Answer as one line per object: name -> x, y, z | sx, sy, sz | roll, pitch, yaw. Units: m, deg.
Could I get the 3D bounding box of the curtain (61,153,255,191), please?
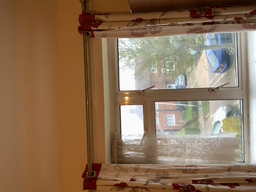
curtain -> 0.410, 0.490, 1.240 | 0.160, 1.580, 0.260 | 13, -106, -85

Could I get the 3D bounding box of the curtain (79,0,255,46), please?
curtain -> 0.460, -0.470, 1.240 | 0.200, 1.460, 0.220 | 7, -100, -85
